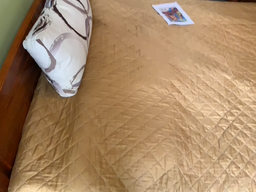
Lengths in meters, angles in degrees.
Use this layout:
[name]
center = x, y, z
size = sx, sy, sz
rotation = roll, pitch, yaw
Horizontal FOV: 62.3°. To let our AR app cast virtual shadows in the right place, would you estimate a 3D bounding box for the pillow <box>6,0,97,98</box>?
[pillow]
center = -0.330, -0.370, 1.120
size = 0.230, 0.340, 0.700
rotation = 1, 50, -1
